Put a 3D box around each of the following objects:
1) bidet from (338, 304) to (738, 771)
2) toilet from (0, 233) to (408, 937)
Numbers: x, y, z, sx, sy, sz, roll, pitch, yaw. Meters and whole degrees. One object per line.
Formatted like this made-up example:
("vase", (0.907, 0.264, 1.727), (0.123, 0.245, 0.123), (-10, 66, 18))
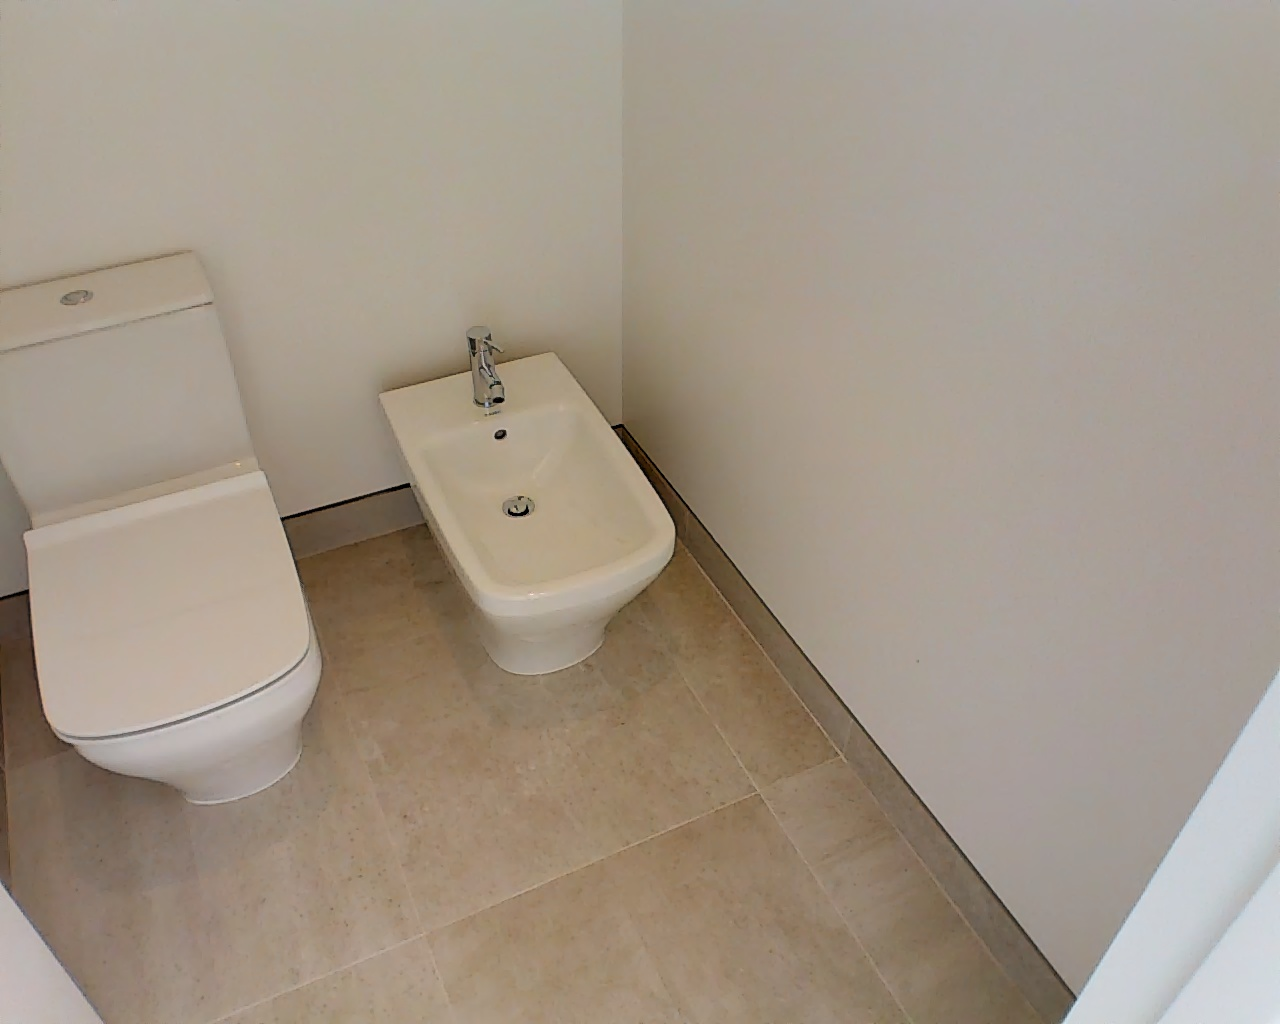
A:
("bidet", (-0.210, 0.010, 2.030), (0.470, 0.430, 0.700), (-18, 44, -20))
("toilet", (-0.760, 0.090, 1.720), (0.480, 0.730, 0.720), (-18, 44, -20))
